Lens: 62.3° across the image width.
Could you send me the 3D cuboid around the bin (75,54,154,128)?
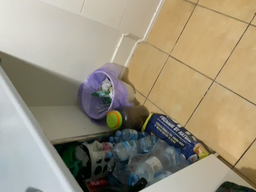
[{"bbox_3d":[-0.090,-0.030,1.330,0.270,0.290,0.330,40,114,33],"label":"bin"}]
